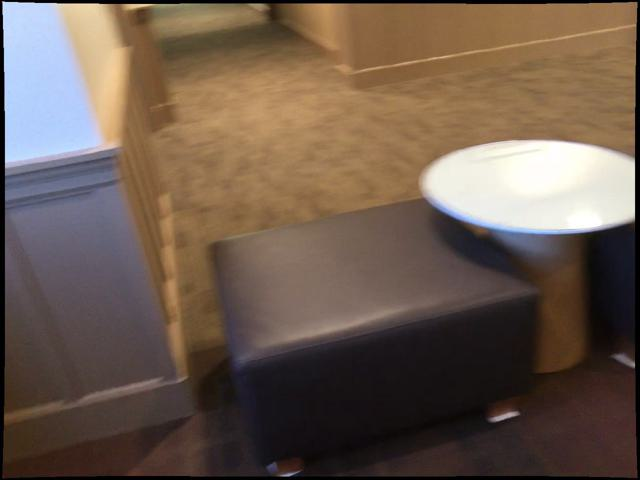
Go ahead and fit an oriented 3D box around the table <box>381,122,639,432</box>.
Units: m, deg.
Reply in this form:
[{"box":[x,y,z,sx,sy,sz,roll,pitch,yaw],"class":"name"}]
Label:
[{"box":[0.648,0.060,1.820,0.678,0.571,0.680,-13,29,-10],"class":"table"}]
